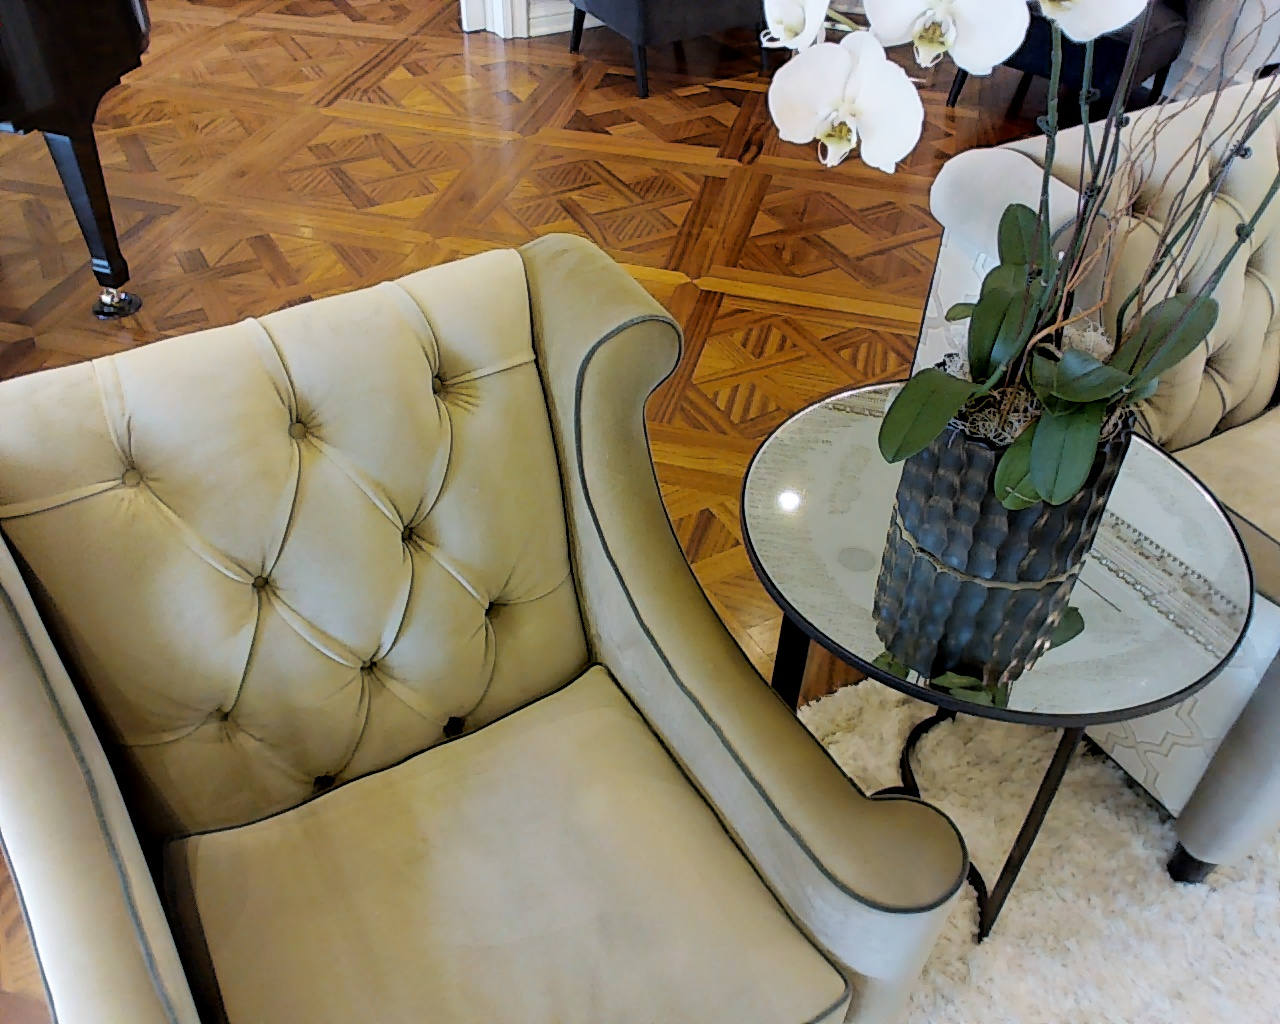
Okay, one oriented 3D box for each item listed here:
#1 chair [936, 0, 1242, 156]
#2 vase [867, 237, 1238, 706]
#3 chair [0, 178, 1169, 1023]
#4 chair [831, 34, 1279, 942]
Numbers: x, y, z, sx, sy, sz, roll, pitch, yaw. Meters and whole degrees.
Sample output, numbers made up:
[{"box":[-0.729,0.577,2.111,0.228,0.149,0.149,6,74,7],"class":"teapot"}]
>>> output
[{"box":[1.810,-2.060,4.160,0.770,0.890,0.930,31,50,29],"class":"chair"},{"box":[0.500,-0.050,1.440,0.300,0.490,0.350,6,42,5],"class":"vase"},{"box":[-0.260,0.360,1.350,1.000,1.020,1.000,-20,46,-22],"class":"chair"},{"box":[1.110,-0.120,1.910,1.030,1.030,0.940,-20,46,-22],"class":"chair"}]
